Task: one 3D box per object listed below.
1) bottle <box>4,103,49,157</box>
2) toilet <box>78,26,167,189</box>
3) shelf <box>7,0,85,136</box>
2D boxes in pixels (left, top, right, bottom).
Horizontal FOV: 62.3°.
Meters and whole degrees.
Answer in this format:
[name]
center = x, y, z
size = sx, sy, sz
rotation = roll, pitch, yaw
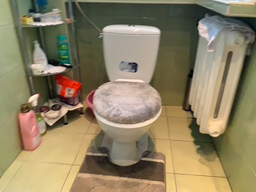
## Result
[bottle]
center = -0.630, 0.210, 1.350
size = 0.120, 0.250, 0.210
rotation = 6, 29, 9
[toilet]
center = 0.000, 0.020, 1.290
size = 0.350, 0.740, 0.650
rotation = 4, 28, 4
[shelf]
center = -0.510, -0.250, 1.450
size = 0.280, 1.060, 0.300
rotation = 3, 28, 4
